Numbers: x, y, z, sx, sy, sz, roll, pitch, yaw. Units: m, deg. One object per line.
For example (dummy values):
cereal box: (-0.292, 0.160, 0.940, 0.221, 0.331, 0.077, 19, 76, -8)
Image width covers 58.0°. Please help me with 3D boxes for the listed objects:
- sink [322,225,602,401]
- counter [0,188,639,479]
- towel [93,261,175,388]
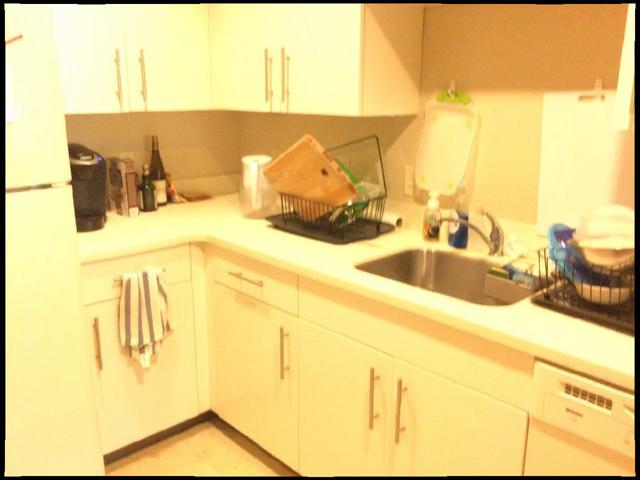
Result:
sink: (0.449, 0.180, 1.900, 0.569, 0.260, 0.679, -13, 20, -42)
counter: (0.060, 0.120, 1.840, 1.369, 0.060, 2.708, -13, 20, -42)
towel: (-0.689, 0.311, 2.160, 0.260, 0.411, 0.080, -13, 20, -42)
